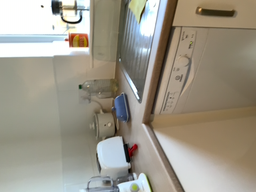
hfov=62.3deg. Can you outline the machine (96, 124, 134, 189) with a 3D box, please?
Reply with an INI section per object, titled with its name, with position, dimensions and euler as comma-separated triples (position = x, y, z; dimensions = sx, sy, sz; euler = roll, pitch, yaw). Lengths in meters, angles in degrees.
[machine]
position = -0.100, 0.390, 1.400
dimensions = 0.320, 0.160, 0.230
euler = -115, 27, -50
